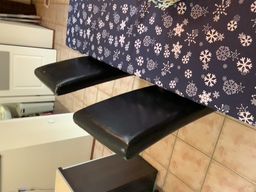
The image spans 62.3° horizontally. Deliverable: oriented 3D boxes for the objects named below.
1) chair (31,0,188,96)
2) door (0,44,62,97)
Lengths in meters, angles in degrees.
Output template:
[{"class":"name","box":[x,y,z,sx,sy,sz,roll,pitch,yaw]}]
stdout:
[{"class":"chair","box":[-0.090,-0.330,1.610,0.430,1.090,0.510,23,110,47]},{"class":"door","box":[-2.170,-0.400,3.370,0.190,2.170,0.830,28,114,45]}]
